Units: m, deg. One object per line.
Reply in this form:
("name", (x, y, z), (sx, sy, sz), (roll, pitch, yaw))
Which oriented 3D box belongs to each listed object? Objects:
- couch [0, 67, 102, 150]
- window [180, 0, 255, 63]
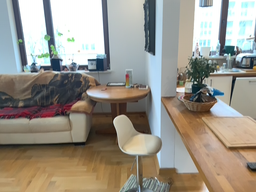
("couch", (-1.560, 0.130, 3.370), (2.140, 0.980, 1.130), (-1, 15, -1))
("window", (1.760, -1.420, 3.880), (1.480, 1.570, 0.250), (-1, 15, 0))
